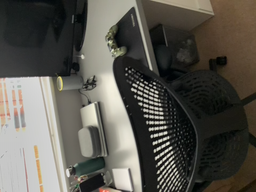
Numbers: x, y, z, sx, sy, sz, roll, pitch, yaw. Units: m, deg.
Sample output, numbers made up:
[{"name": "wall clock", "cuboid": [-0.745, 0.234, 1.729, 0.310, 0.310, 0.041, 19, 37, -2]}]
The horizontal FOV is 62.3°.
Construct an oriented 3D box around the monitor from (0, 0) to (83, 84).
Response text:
[{"name": "monitor", "cuboid": [-0.500, -0.440, 1.190, 0.070, 0.470, 0.750, 36, 123, 45]}]
